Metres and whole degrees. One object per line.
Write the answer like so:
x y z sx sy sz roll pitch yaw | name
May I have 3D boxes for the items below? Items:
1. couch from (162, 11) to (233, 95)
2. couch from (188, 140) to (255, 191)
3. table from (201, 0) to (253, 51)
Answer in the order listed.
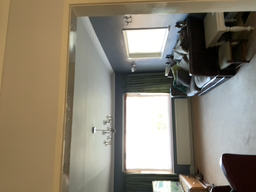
1.270 -0.700 4.440 2.100 0.870 1.050 69 -159 -80 | couch
1.200 1.080 2.340 0.860 0.820 0.780 -85 -6 -55 | couch
1.450 -1.070 3.210 0.610 0.500 0.560 69 -159 -80 | table
